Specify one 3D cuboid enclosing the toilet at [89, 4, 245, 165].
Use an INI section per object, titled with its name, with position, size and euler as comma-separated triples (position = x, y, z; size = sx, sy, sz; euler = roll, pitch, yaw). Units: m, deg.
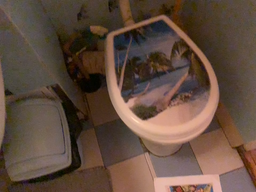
[toilet]
position = 0.110, -0.010, 0.900
size = 0.370, 0.430, 0.460
euler = -16, 69, -5
